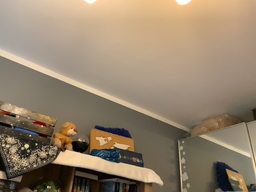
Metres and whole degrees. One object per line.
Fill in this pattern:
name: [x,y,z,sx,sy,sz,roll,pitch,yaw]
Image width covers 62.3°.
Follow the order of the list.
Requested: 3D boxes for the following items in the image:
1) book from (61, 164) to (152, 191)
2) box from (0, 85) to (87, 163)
book: [-0.140,0.680,1.530,0.590,0.230,0.280,24,-35,-31]
box: [-0.590,0.210,1.370,0.530,0.300,0.280,24,-35,-30]
